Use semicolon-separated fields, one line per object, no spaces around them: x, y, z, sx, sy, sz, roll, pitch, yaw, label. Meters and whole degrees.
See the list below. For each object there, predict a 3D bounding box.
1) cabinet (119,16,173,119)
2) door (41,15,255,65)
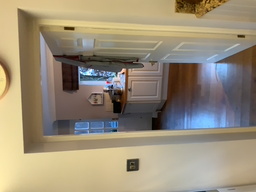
0.320;-0.550;4.340;0.570;0.910;1.930;-132;42;-73;cabinet
0.240;-0.510;2.230;0.970;1.990;0.110;151;117;-77;door
